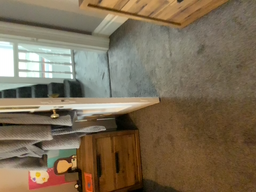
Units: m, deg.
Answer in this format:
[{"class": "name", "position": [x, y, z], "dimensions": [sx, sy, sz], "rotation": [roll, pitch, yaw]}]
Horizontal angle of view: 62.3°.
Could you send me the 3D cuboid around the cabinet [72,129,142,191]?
[{"class": "cabinet", "position": [-0.210, 0.590, 1.940], "dimensions": [0.450, 0.450, 0.520], "rotation": [-16, 77, 56]}]
